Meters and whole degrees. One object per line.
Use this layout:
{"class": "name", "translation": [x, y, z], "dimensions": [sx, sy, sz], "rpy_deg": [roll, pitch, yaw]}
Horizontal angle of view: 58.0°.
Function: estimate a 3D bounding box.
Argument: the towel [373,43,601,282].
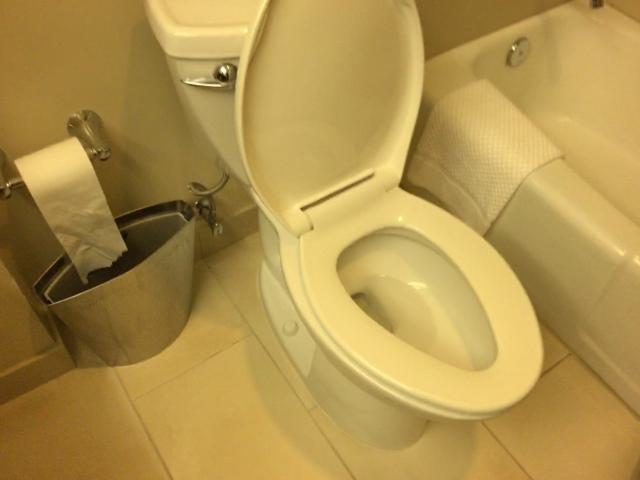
{"class": "towel", "translation": [0.390, -0.200, 1.480], "dimensions": [0.270, 0.360, 0.420], "rpy_deg": [-29, 58, -22]}
